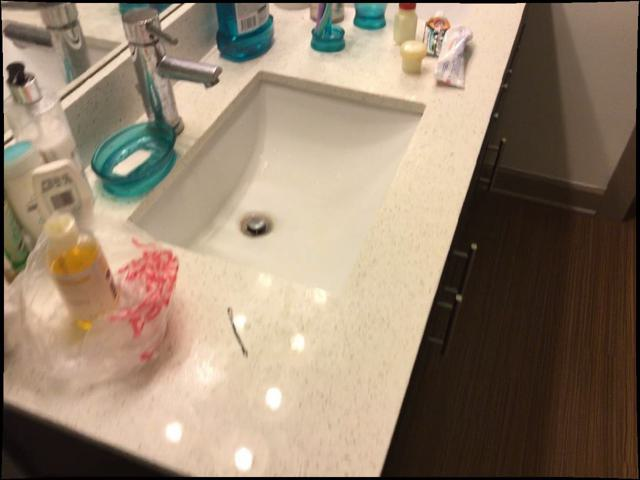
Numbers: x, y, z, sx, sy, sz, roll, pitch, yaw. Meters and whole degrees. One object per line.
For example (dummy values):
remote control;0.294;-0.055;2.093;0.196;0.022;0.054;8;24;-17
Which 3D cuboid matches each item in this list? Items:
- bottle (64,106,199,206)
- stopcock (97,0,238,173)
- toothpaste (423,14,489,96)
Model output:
bottle;-0.279;-0.130;0.870;0.130;0.050;0.140;16;49;16
stopcock;-0.219;-0.231;0.870;0.140;0.230;0.080;16;49;16
toothpaste;0.249;-0.341;1.050;0.070;0.050;0.190;16;49;16
